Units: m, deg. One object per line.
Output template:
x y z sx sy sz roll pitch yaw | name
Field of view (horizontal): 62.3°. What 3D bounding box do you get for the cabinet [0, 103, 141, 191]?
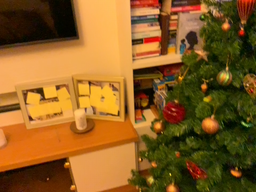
-0.810 0.540 1.440 1.750 0.560 0.400 -10 31 -12 | cabinet
